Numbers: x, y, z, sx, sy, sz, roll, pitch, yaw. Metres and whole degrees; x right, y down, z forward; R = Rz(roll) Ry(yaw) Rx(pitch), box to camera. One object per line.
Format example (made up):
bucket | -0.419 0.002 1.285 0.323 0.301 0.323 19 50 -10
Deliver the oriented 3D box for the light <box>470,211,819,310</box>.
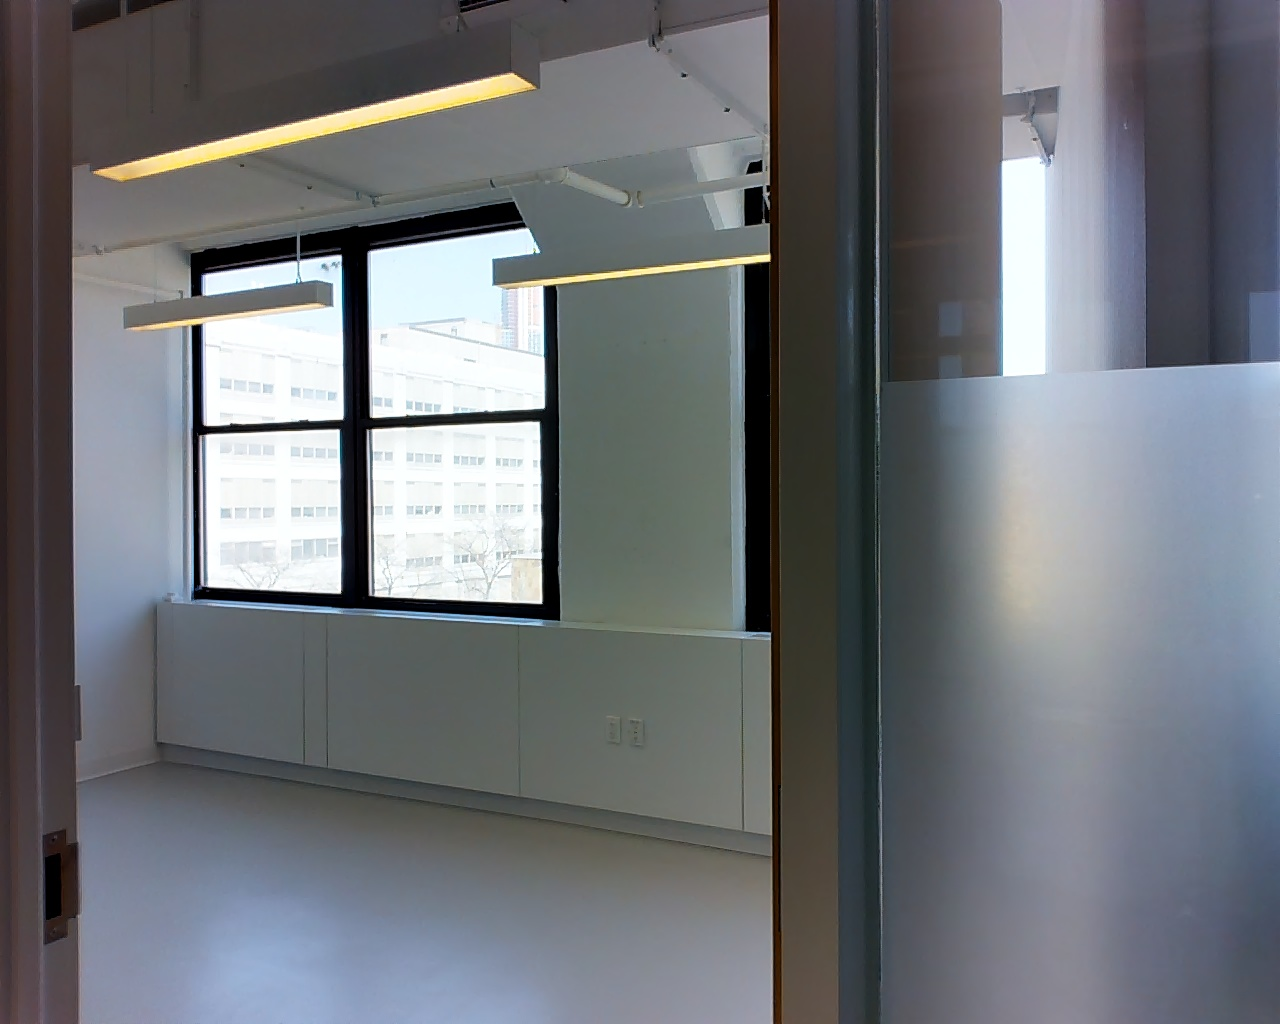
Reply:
light | -0.020 -0.860 3.740 1.280 0.170 0.180 0 1 28

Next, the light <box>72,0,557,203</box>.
light | -0.760 -0.930 2.340 1.250 0.300 0.170 0 1 28
